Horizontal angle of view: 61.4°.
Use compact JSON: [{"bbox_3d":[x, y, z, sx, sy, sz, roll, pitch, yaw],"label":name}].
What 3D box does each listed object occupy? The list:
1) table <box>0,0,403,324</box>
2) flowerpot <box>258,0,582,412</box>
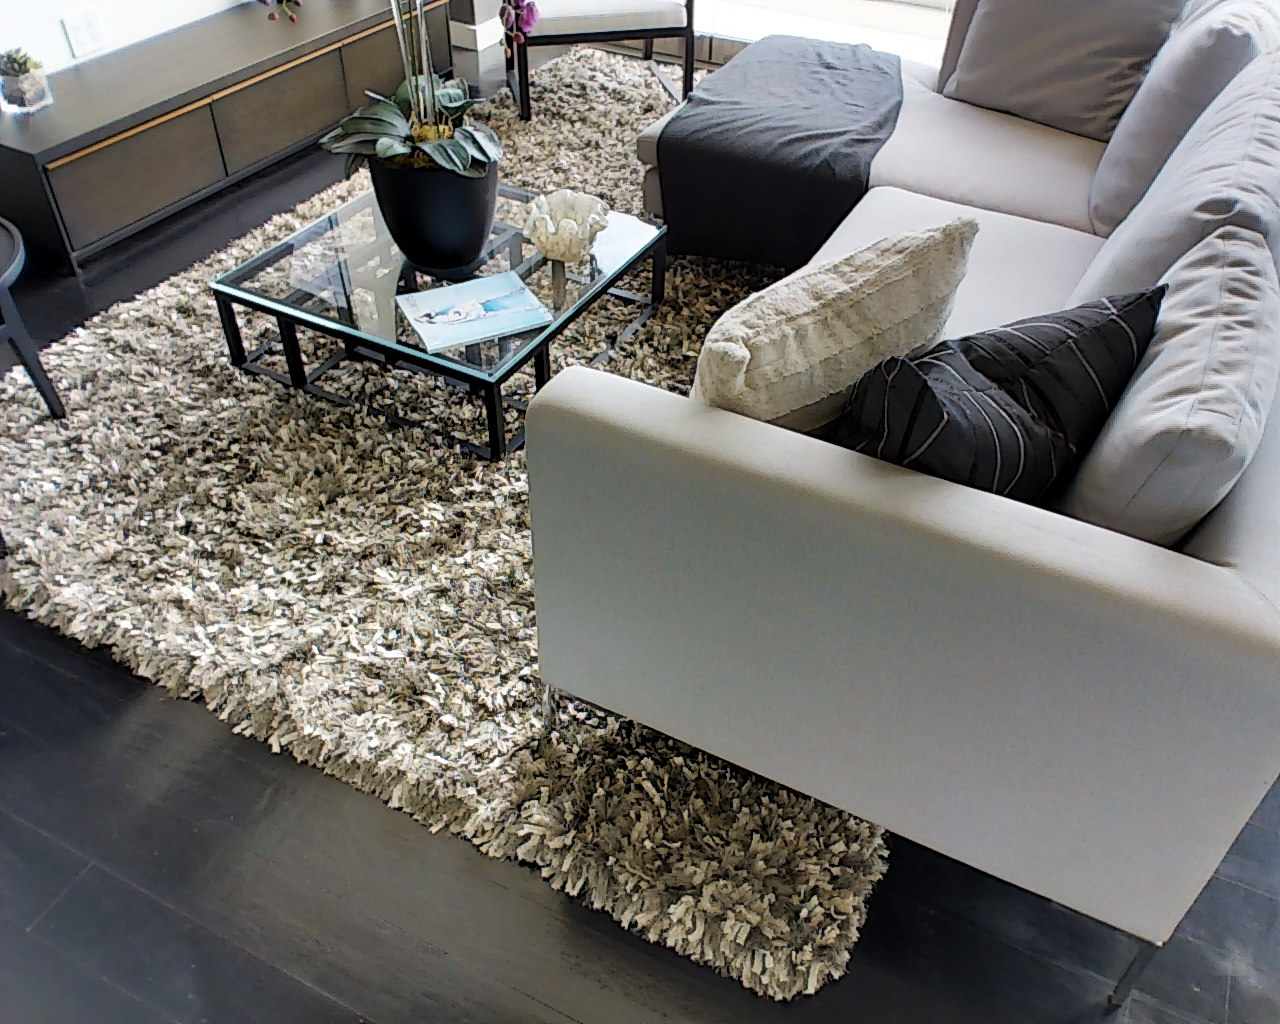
[{"bbox_3d":[-1.510,-1.220,3.440,0.500,0.410,1.650,21,45,22],"label":"table"},{"bbox_3d":[-0.470,-0.840,2.460,0.550,1.110,0.340,18,44,18],"label":"flowerpot"}]
